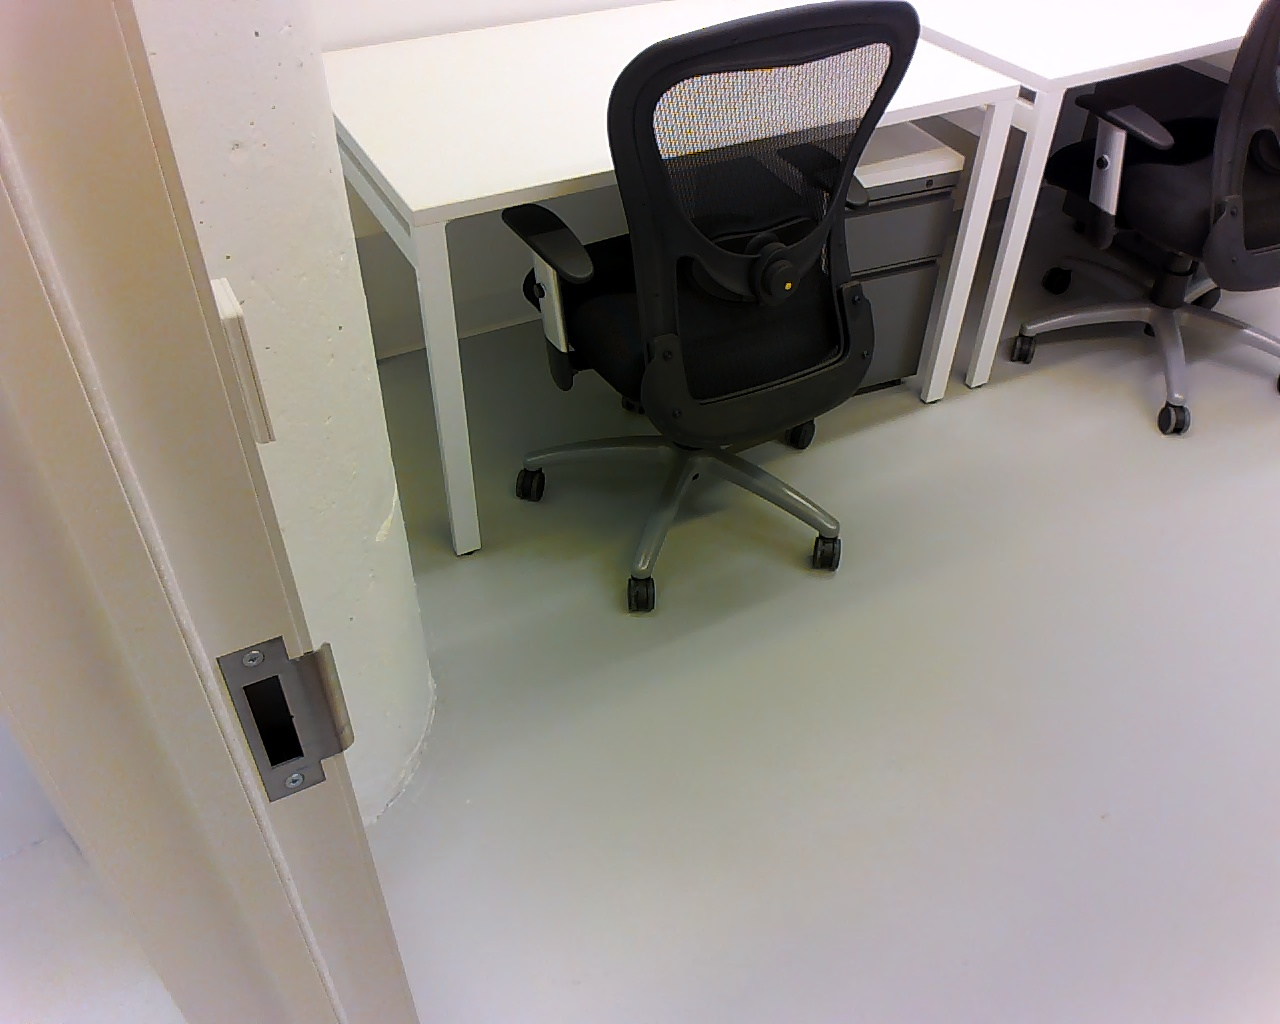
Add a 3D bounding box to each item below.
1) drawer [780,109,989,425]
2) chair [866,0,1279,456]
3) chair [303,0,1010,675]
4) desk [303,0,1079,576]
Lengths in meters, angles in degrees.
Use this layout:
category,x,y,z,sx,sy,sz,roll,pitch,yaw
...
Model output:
category,x,y,z,sx,sy,sz,roll,pitch,yaw
drawer,0.520,-0.530,2.370,0.300,0.600,0.210,-19,45,-20
chair,1.210,-0.920,2.510,0.710,1.000,1.060,-19,45,-20
chair,-0.010,-0.390,1.870,0.870,1.050,0.580,-15,44,-16
desk,0.080,-0.590,2.330,1.270,0.740,0.820,-19,45,-20
